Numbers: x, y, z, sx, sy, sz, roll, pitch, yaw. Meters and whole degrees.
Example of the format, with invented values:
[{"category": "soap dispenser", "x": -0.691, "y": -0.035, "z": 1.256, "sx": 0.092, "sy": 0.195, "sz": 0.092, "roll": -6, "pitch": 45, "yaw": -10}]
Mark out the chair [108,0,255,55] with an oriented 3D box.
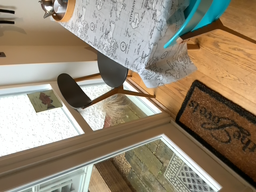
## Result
[{"category": "chair", "x": 0.410, "y": -0.520, "z": 1.050, "sx": 0.480, "sy": 0.810, "sz": 0.450, "roll": 42, "pitch": 129, "yaw": 38}]
